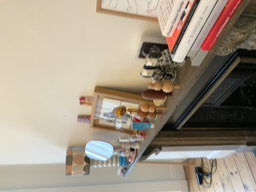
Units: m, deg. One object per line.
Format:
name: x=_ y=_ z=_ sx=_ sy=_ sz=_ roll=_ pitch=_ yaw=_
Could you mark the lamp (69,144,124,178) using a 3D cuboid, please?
lamp: x=-0.270 y=0.540 z=1.770 sx=0.220 sy=0.420 sz=0.200 roll=110 pitch=157 yaw=-54
